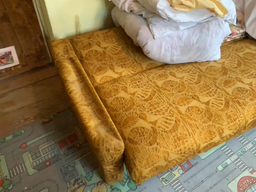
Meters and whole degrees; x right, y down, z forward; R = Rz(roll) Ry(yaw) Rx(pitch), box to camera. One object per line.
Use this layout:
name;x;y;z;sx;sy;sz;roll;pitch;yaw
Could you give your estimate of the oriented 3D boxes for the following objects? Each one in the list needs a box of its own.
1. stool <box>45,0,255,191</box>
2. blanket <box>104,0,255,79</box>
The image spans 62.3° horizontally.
stool;0.650;-0.250;1.630;2.200;0.470;1.000;-19;54;-18
blanket;0.380;-0.610;1.360;0.890;0.450;0.660;-19;54;-18
